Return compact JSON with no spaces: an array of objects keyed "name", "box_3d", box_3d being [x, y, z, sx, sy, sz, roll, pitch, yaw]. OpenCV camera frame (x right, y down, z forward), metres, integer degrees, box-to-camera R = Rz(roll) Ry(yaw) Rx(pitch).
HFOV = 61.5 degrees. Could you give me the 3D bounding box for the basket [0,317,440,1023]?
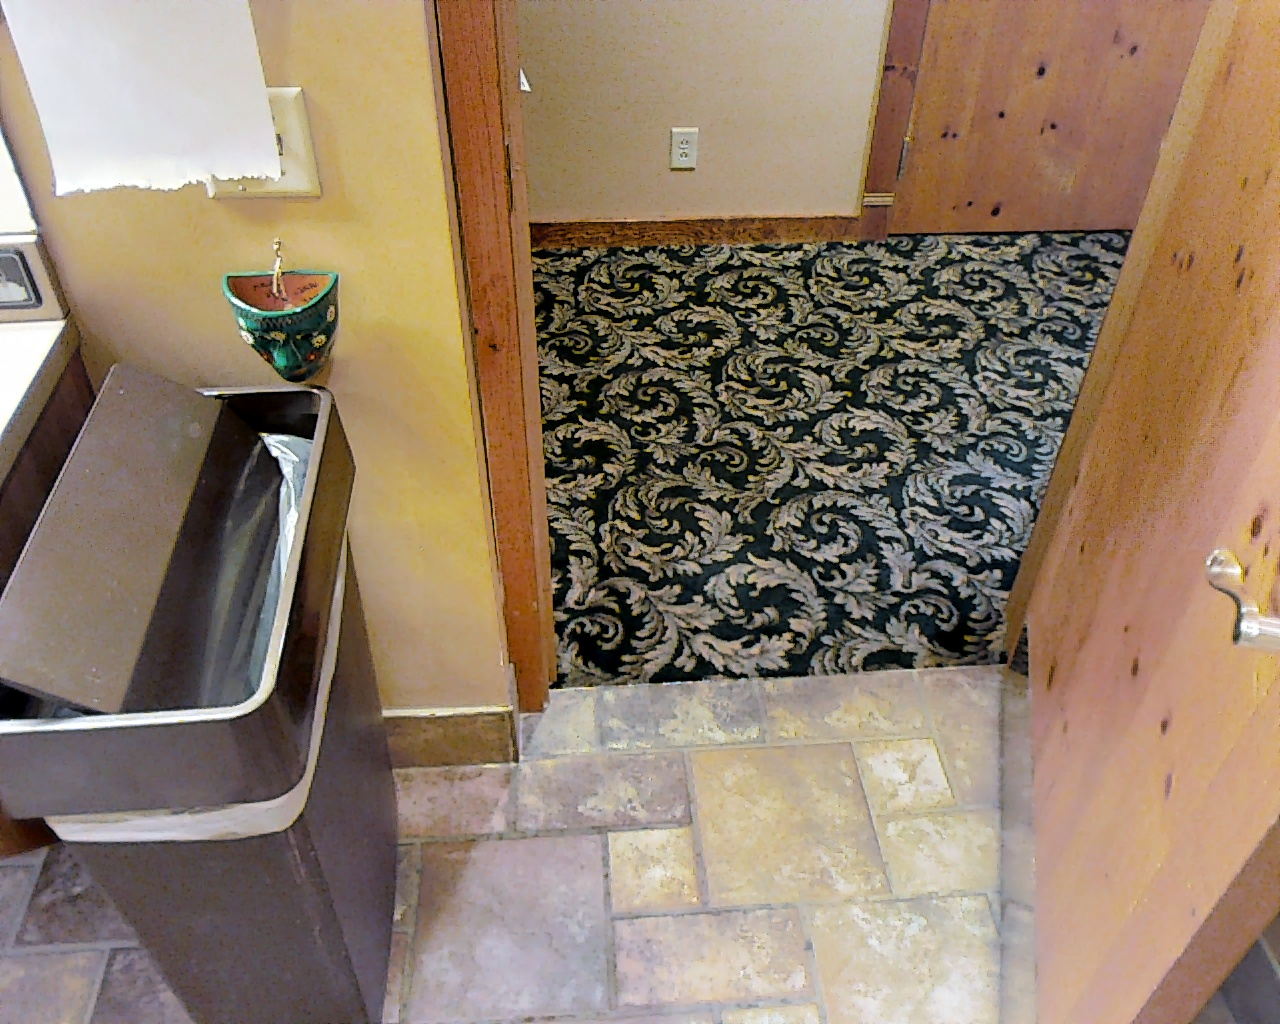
[{"name":"basket","box_3d":[-0.490,0.300,1.380,0.340,0.900,0.570,-4,41,-5]}]
